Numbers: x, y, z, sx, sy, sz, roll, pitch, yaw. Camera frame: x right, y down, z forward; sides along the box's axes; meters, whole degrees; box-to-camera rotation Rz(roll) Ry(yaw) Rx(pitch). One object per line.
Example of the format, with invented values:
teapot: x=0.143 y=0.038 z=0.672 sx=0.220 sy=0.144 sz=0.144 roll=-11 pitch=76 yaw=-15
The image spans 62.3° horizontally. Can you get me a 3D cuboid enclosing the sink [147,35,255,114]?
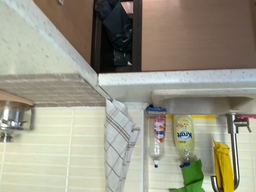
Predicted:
sink: x=0.270 y=-0.050 z=0.870 sx=0.360 sy=0.180 sz=0.450 roll=0 pitch=167 yaw=8

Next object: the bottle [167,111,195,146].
bottle: x=0.270 y=0.170 z=1.100 sx=0.130 sy=0.170 sz=0.070 roll=0 pitch=167 yaw=8
